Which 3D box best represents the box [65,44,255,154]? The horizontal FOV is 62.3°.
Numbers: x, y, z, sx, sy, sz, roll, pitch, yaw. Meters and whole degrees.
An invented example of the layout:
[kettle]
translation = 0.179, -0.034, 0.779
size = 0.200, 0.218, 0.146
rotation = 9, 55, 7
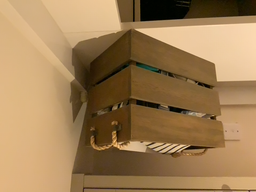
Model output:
[box]
translation = 0.110, 0.060, 0.880
size = 0.570, 0.330, 0.450
rotation = -1, 163, 4
